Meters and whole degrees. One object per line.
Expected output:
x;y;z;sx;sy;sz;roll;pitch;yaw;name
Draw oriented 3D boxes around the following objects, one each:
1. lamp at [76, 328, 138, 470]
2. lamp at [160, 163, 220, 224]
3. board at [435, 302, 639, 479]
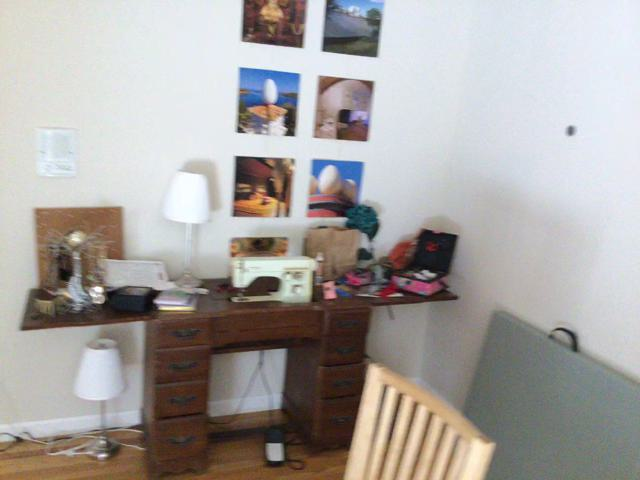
-0.970;0.700;2.610;0.240;0.520;0.300;0;11;-24;lamp
-0.590;-0.210;2.600;0.220;0.240;0.200;0;11;-24;lamp
0.890;0.770;2.400;0.200;0.750;1.000;0;11;-24;board
